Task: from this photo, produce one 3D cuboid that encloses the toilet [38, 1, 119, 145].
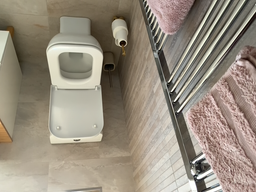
[{"bbox_3d":[-0.360,-0.150,1.530,0.400,0.790,0.610,1,146,-15],"label":"toilet"}]
